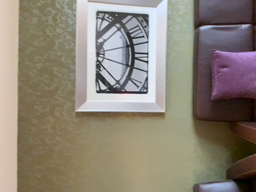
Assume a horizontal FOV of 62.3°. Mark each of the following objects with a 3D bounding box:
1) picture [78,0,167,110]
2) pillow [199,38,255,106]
[{"bbox_3d":[-0.040,-0.390,1.810,0.030,0.750,1.020,-175,86,-82],"label":"picture"},{"bbox_3d":[0.850,-0.180,1.670,0.190,0.390,0.380,126,121,-81],"label":"pillow"}]
